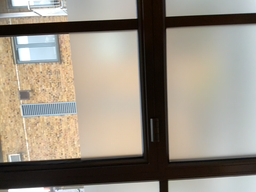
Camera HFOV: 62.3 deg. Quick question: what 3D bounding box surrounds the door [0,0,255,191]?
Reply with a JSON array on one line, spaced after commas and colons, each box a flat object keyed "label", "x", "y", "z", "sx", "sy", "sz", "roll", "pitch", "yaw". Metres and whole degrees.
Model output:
[{"label": "door", "x": 0.540, "y": 0.060, "z": 0.820, "sx": 0.070, "sy": 2.330, "sz": 1.420, "roll": -96, "pitch": 3, "yaw": -81}]
